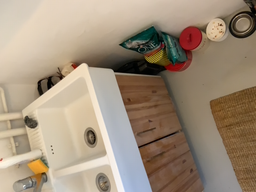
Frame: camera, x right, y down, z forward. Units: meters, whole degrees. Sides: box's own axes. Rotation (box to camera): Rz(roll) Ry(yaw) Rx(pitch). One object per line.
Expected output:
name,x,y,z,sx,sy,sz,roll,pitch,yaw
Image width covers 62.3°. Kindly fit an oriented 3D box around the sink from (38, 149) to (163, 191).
sink,-0.170,0.550,1.110,0.750,0.170,0.390,-23,78,37
